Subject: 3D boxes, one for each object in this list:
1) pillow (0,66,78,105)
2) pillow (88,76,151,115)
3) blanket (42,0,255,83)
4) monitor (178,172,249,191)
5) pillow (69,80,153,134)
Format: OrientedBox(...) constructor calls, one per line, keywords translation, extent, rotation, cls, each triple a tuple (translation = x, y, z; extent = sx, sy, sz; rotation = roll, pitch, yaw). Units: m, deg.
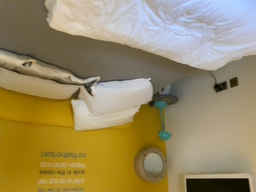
OrientedBox(translation=(-0.850, -0.070, 1.930), extent=(0.680, 0.120, 0.450), rotation=(9, 160, -26), cls="pillow")
OrientedBox(translation=(-0.060, 0.010, 2.040), extent=(0.550, 0.260, 0.360), rotation=(-2, 161, 6), cls="pillow")
OrientedBox(translation=(0.180, -0.340, 1.090), extent=(1.080, 0.150, 0.690), rotation=(9, 160, -26), cls="blanket")
OrientedBox(translation=(0.710, 0.900, 1.840), extent=(0.050, 0.440, 0.740), rotation=(9, 160, -25), cls="monitor")
OrientedBox(translation=(-0.200, 0.160, 2.270), extent=(0.710, 0.370, 0.600), rotation=(8, 160, -23), cls="pillow")
